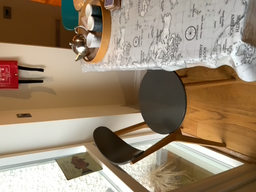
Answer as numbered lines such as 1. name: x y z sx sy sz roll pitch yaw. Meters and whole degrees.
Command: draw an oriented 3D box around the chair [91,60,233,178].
1. chair: 0.220 0.080 1.400 0.450 0.780 0.570 15 104 55
